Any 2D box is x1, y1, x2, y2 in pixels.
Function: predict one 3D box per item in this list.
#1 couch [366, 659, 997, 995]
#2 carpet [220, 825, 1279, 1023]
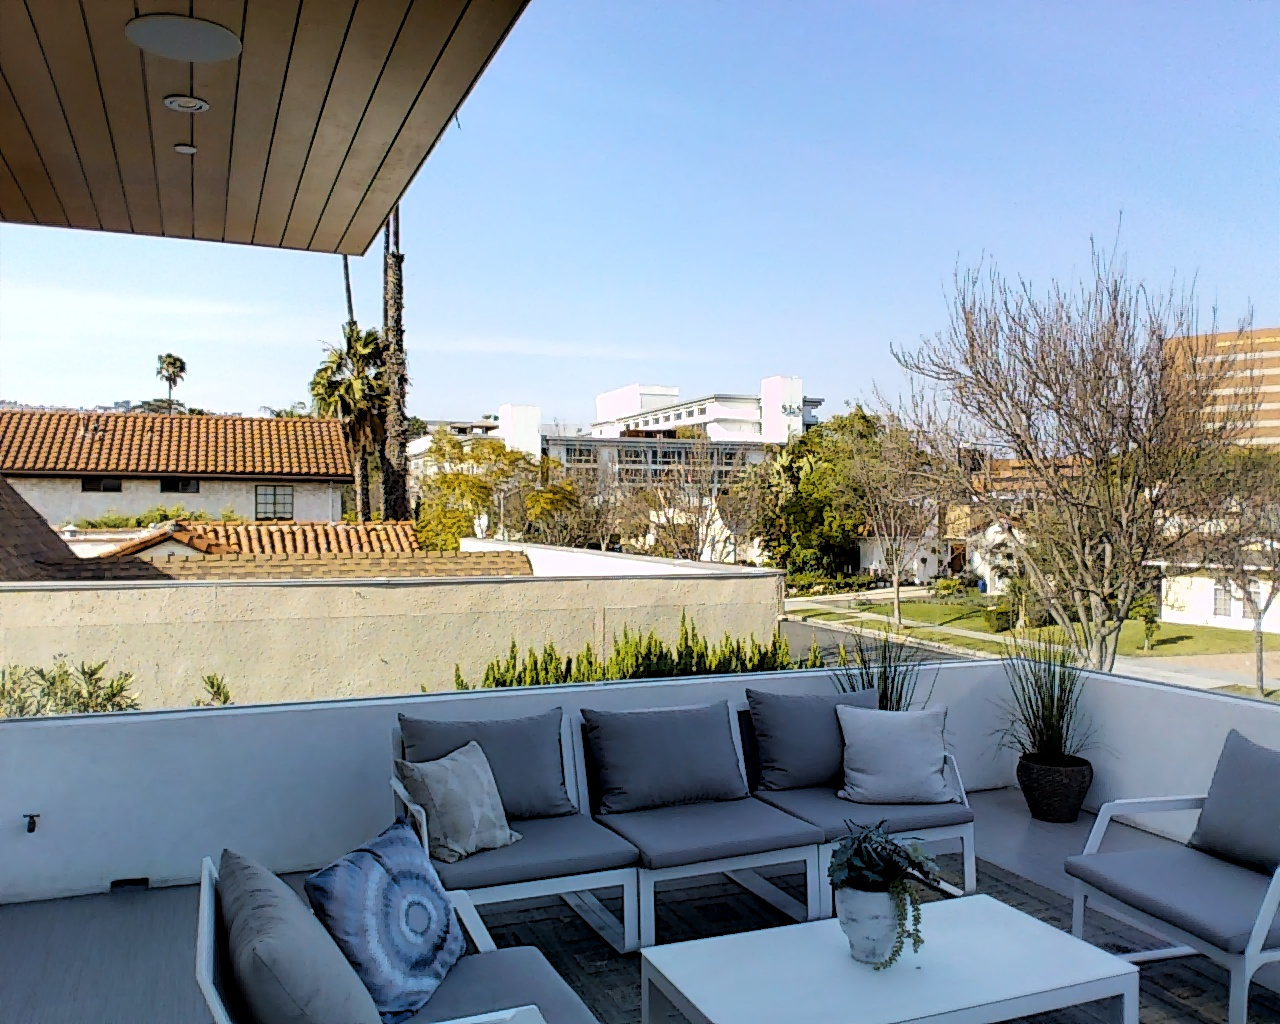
[{"bbox_3d":[0.170,1.100,4.190,2.309,0.820,0.850,0,1,-22],"label":"couch"},{"bbox_3d":[0.480,1.521,3.190,3.139,0.050,2.780,0,1,-23],"label":"carpet"}]
